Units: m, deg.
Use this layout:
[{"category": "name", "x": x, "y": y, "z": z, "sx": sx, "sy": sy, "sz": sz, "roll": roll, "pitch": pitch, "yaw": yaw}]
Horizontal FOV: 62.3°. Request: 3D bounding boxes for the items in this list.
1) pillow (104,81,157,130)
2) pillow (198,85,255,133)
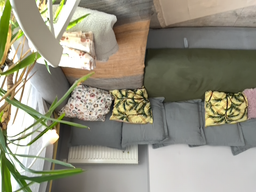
[{"category": "pillow", "x": 0.030, "y": 0.080, "z": 2.120, "sx": 0.420, "sy": 0.350, "sz": 0.240, "roll": 13, "pitch": 130, "yaw": 16}, {"category": "pillow", "x": 1.010, "y": 0.110, "z": 2.160, "sx": 0.440, "sy": 0.470, "sz": 0.200, "roll": 21, "pitch": 117, "yaw": 24}]
